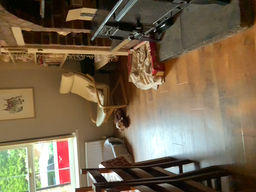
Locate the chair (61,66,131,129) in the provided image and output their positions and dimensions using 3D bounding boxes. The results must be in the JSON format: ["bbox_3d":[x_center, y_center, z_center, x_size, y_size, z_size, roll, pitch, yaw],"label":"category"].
[{"bbox_3d":[-0.590,0.000,3.630,0.540,0.980,0.880,117,143,-49],"label":"chair"}]

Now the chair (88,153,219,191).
[{"bbox_3d":[0.210,0.790,1.740,0.450,0.960,0.450,161,105,-66],"label":"chair"}]

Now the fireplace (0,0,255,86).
[{"bbox_3d":[-0.300,-0.640,1.770,2.130,1.810,0.790,166,101,-67],"label":"fireplace"}]
